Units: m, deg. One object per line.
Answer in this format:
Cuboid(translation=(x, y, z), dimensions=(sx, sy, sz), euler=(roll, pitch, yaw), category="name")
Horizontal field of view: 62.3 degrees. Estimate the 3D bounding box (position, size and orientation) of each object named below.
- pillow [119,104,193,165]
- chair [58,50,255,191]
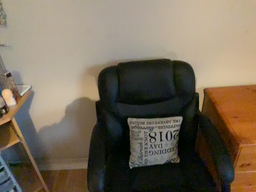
Cuboid(translation=(0.140, 0.210, 1.100), dimensions=(0.300, 0.220, 0.070), euler=(-33, 29, 18), category="pillow")
Cuboid(translation=(0.130, 0.340, 1.110), dimensions=(0.610, 0.900, 0.710), euler=(-4, 34, 0), category="chair")
